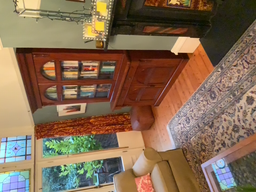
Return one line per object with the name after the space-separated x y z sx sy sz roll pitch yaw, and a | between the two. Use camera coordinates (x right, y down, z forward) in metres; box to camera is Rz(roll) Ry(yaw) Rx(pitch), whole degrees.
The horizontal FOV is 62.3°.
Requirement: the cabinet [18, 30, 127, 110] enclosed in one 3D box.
-0.770 -0.290 3.000 1.230 1.200 0.350 114 148 -53 | cabinet
